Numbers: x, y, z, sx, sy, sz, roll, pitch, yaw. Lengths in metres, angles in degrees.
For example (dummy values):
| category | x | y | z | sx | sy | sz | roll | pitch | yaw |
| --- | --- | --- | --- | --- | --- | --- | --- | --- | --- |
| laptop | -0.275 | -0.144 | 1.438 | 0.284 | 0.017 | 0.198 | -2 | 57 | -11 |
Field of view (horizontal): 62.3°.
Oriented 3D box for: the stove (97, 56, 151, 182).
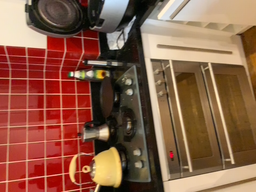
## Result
| category | x | y | z | sx | sy | sz | roll | pitch | yaw |
| --- | --- | --- | --- | --- | --- | --- | --- | --- | --- |
| stove | -0.060 | 0.160 | 1.230 | 0.520 | 0.050 | 0.600 | 143 | 123 | -60 |
